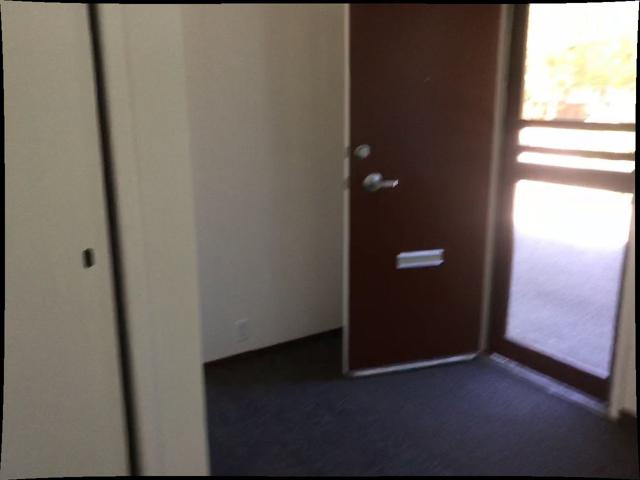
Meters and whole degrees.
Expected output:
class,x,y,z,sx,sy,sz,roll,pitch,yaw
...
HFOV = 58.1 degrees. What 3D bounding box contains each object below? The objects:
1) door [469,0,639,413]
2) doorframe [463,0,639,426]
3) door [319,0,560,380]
class,x,y,z,sx,sy,sz,roll,pitch,yaw
door,1.148,-0.240,2.780,0.240,1.943,0.770,-10,18,-31
doorframe,1.168,-0.260,2.750,0.230,2.013,0.940,-10,18,-31
door,0.559,-0.300,3.000,1.058,1.963,0.410,-3,16,-9
